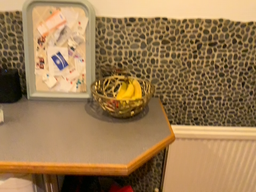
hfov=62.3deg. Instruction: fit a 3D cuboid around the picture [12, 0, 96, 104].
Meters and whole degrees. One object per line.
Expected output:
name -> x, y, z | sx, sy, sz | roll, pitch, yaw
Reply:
picture -> -0.380, -0.220, 1.130 | 0.370, 0.530, 0.070 | 8, 32, -5
